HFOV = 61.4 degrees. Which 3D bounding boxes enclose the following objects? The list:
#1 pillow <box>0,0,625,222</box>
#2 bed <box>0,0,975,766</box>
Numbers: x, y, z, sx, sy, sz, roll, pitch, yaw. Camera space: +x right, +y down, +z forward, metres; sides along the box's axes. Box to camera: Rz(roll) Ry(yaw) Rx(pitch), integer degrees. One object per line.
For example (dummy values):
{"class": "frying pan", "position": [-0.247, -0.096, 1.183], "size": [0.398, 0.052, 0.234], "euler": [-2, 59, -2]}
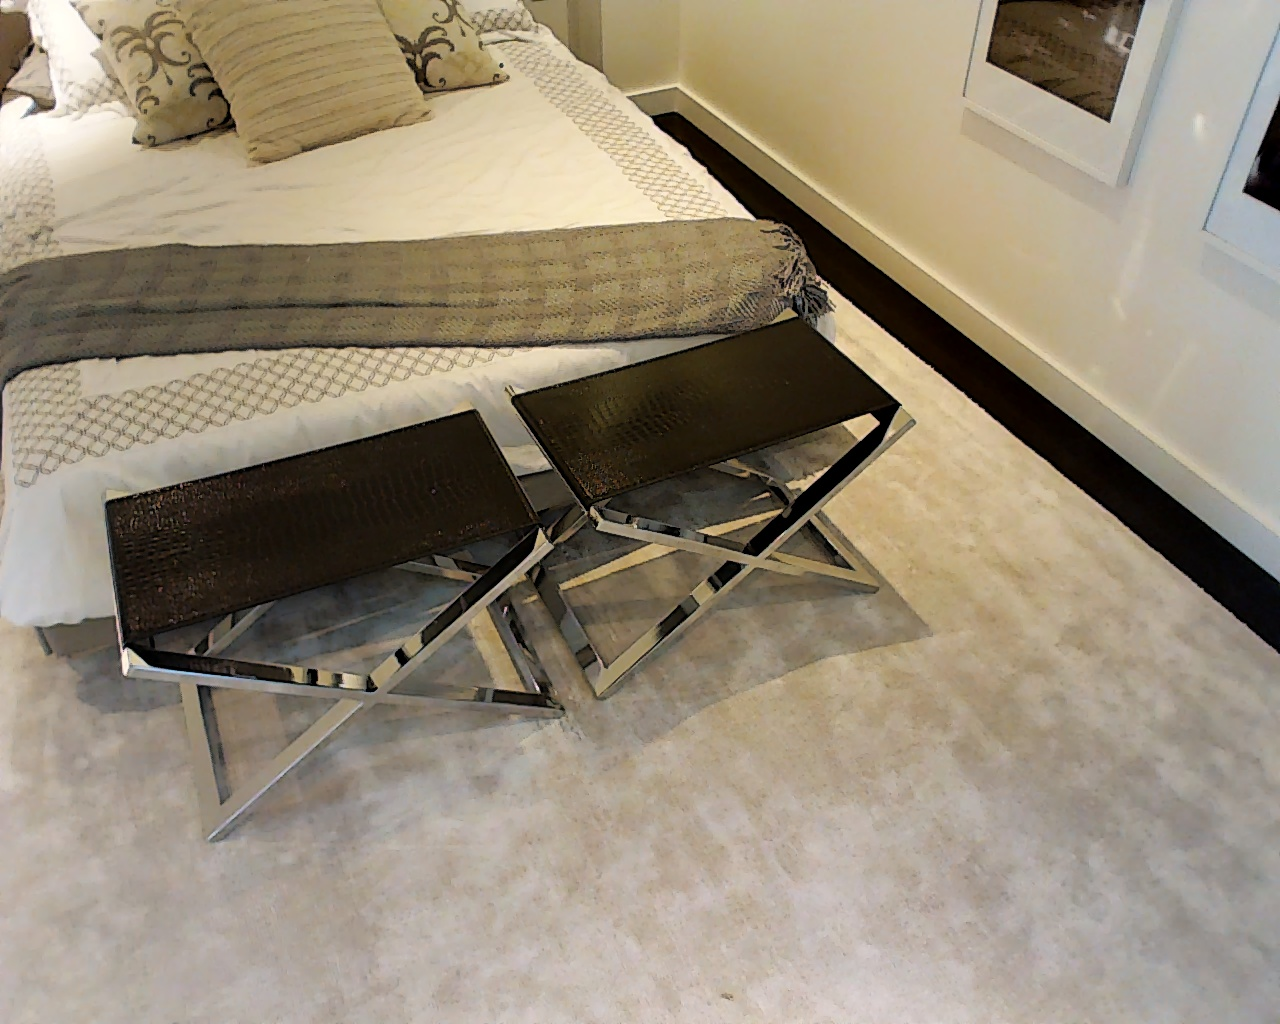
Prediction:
{"class": "pillow", "position": [-0.920, -1.290, 2.840], "size": [1.460, 0.340, 0.990], "euler": [-20, 46, -21]}
{"class": "bed", "position": [-0.700, -0.780, 2.540], "size": [1.830, 0.880, 2.070], "euler": [-18, 45, -19]}
